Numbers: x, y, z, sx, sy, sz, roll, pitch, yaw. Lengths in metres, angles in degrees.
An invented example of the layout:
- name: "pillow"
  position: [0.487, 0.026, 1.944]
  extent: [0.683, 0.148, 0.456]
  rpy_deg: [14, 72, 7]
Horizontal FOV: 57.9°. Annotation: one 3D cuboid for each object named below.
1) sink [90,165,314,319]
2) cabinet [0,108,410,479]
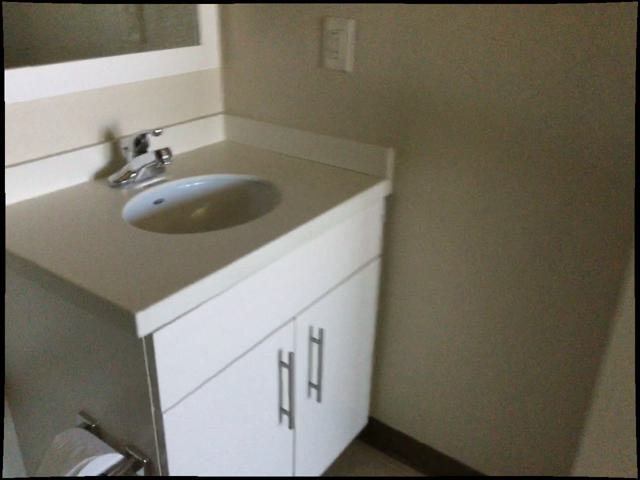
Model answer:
- name: "sink"
  position: [-0.250, -0.020, 1.300]
  extent: [0.300, 0.150, 0.380]
  rpy_deg: [19, 31, 33]
- name: "cabinet"
  position: [-0.280, 0.240, 1.430]
  extent: [0.600, 0.901, 0.830]
  rpy_deg: [19, 31, 33]
